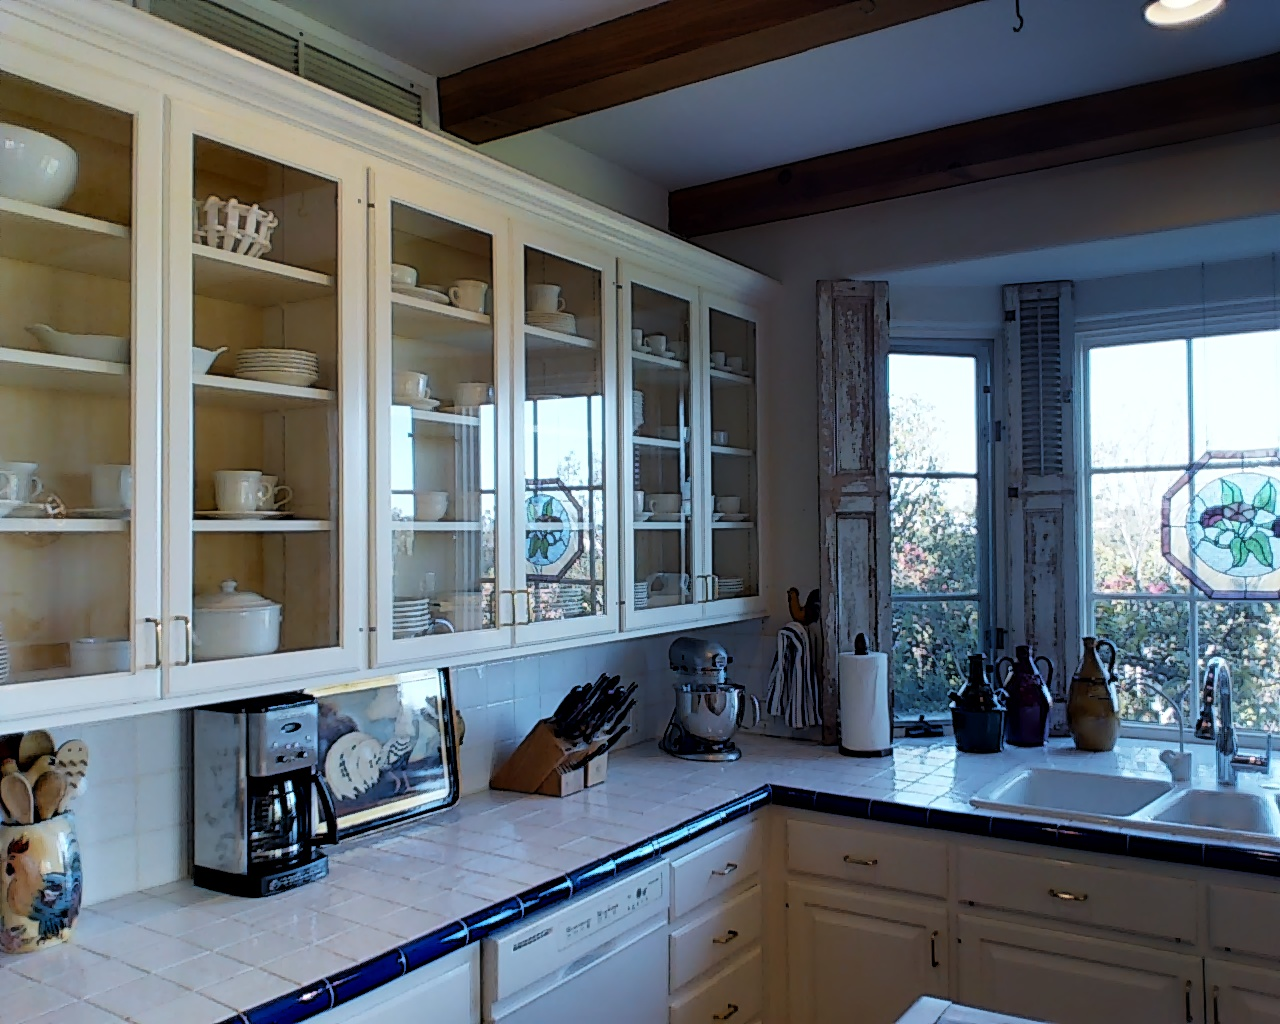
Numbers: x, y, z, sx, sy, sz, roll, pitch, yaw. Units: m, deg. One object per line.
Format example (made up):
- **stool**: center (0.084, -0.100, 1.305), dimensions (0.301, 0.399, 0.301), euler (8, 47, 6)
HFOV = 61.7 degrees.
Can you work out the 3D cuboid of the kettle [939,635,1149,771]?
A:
- **kettle**: center (1.270, 0.580, 3.370), dimensions (0.530, 0.330, 0.390), euler (-1, -1, 36)
